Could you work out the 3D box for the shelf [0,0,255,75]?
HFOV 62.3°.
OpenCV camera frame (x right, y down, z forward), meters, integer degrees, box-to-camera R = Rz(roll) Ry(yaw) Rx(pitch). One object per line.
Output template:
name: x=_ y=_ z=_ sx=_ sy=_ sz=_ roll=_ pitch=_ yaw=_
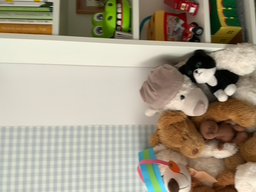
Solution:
shelf: x=0.470 y=-0.340 z=0.930 sx=0.280 sy=2.010 sz=0.430 roll=152 pitch=119 yaw=-78
